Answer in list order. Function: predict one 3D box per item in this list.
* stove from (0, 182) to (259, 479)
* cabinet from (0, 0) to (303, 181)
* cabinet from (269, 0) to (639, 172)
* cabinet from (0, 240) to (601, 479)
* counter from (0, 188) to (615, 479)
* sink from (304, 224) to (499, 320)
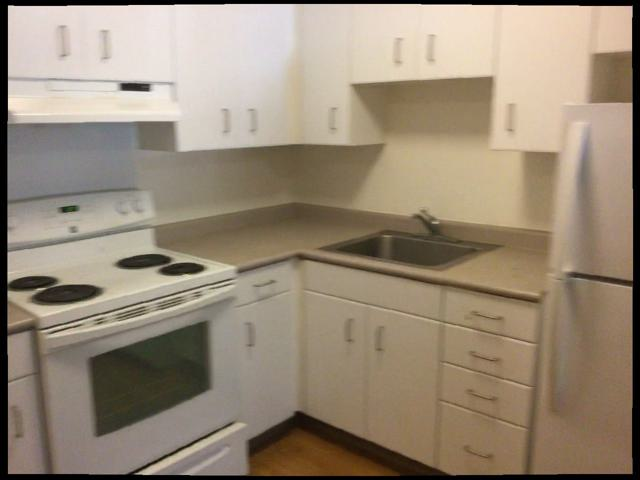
[{"bbox_3d":[-0.808,0.431,2.260,0.779,1.172,0.739,11,18,41],"label":"stove"},{"bbox_3d":[-0.848,-0.802,2.280,0.380,0.982,1.859,10,18,40],"label":"cabinet"},{"bbox_3d":[0.779,-0.882,2.230,2.357,1.132,0.390,10,18,40],"label":"cabinet"},{"bbox_3d":[-0.200,0.681,1.830,1.638,0.932,1.209,10,18,39],"label":"cabinet"},{"bbox_3d":[-0.230,0.130,2.100,1.838,0.210,2.158,10,18,40],"label":"counter"},{"bbox_3d":[0.359,0.110,2.560,0.659,0.190,0.550,10,18,40],"label":"sink"}]
